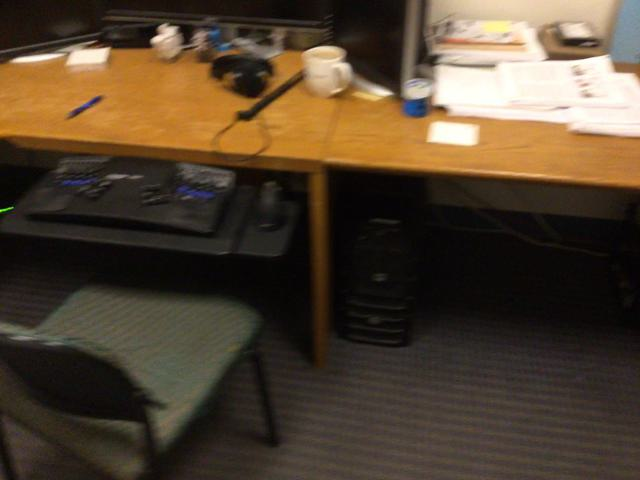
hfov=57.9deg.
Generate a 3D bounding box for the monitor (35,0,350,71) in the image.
[{"bbox_3d":[-0.340,-0.790,1.540,0.840,0.560,0.230,5,37,5],"label":"monitor"}]

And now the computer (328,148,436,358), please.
[{"bbox_3d":[0.180,0.040,1.750,0.260,0.500,0.360,5,37,5],"label":"computer"}]

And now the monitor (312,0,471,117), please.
[{"bbox_3d":[0.170,-0.670,1.440,0.210,0.580,0.380,-21,42,-26],"label":"monitor"}]
